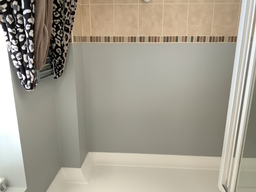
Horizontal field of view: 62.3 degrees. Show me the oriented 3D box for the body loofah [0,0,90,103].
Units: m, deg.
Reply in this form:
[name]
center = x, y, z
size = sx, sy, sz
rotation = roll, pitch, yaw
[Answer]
[body loofah]
center = -0.460, -0.530, 1.300
size = 0.250, 1.000, 0.610
rotation = 2, -164, 5
